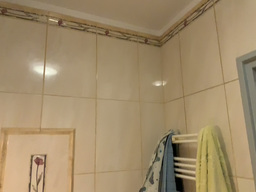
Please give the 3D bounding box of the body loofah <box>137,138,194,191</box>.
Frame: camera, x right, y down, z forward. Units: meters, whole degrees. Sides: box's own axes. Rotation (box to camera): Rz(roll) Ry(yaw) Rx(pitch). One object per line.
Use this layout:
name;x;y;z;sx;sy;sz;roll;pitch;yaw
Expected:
body loofah;0.230;0.750;1.280;0.250;0.970;0.240;4;-14;-23

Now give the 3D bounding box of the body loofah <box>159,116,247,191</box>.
body loofah;0.360;0.730;0.990;0.220;1.230;0.350;5;-14;-23
